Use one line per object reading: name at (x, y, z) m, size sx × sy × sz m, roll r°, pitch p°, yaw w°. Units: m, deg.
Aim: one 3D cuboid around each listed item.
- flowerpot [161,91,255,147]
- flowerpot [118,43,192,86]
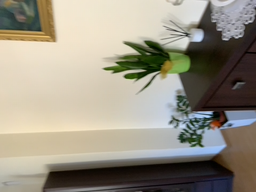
flowerpot at (0.850, 0.230, 2.090) m, size 0.530 × 0.870 × 0.300 m, roll 107°, pitch 159°, yaw -52°
flowerpot at (0.170, -0.210, 1.470) m, size 0.220 × 0.440 × 0.170 m, roll 106°, pitch 160°, yaw -51°
